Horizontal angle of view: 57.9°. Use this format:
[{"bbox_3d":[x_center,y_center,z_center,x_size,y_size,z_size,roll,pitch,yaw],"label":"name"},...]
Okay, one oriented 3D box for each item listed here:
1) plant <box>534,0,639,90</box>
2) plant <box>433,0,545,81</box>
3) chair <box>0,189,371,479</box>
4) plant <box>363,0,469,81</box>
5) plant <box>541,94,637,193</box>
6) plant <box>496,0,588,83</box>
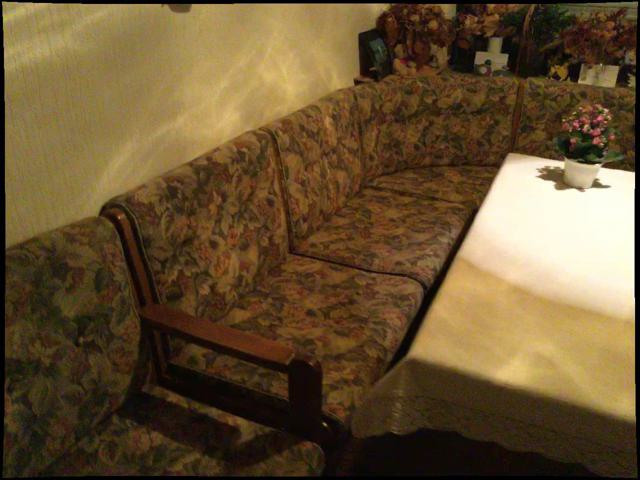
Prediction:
[{"bbox_3d":[1.279,-0.921,2.700,0.420,0.310,0.310,16,31,23],"label":"plant"},{"bbox_3d":[0.849,-1.071,2.880,0.420,0.420,0.350,16,31,23],"label":"plant"},{"bbox_3d":[-0.320,0.330,1.200,0.660,0.610,0.480,16,31,23],"label":"chair"},{"bbox_3d":[0.460,-0.991,2.730,0.340,0.340,0.430,16,31,23],"label":"plant"},{"bbox_3d":[0.849,-0.310,1.830,0.210,0.230,0.180,16,31,23],"label":"plant"},{"bbox_3d":[1.079,-1.051,2.770,0.310,0.490,0.290,16,31,23],"label":"plant"}]
